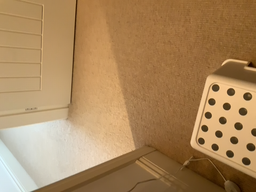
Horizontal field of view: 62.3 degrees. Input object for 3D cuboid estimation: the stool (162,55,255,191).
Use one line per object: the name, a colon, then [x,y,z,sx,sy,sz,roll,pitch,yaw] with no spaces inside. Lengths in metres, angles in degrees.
stool: [0.400,0.100,0.550,0.510,0.250,0.300,24,110,39]
